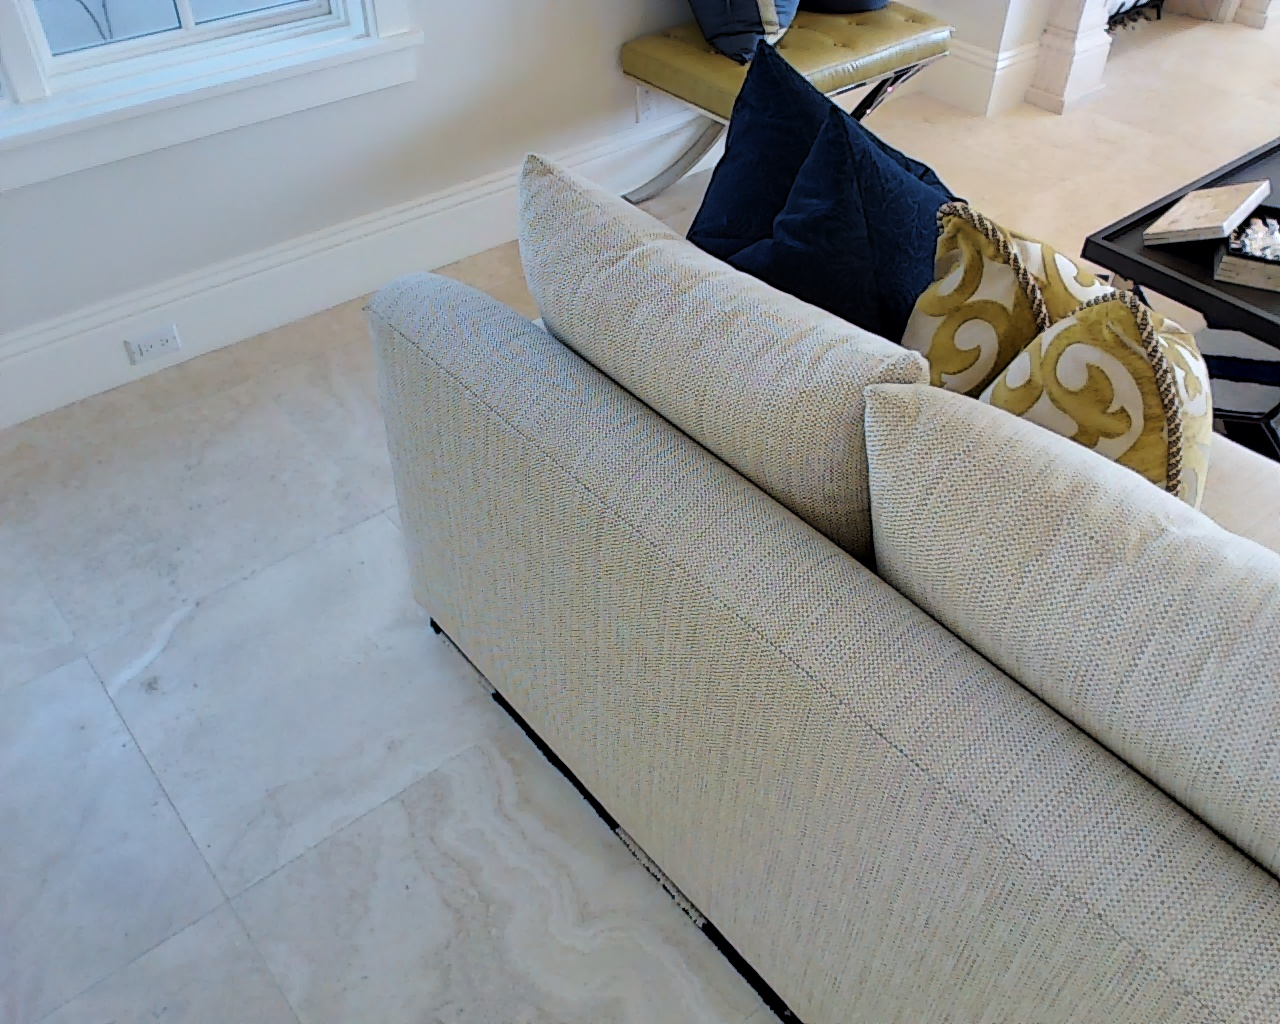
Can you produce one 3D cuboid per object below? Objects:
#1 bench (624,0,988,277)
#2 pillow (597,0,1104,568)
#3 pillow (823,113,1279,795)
[{"bbox_3d":[0.480,-1.190,3.210,0.940,0.530,0.520,-29,50,-29],"label":"bench"},{"bbox_3d":[0.310,-0.390,1.650,0.450,0.660,0.530,-24,29,-3],"label":"pillow"},{"bbox_3d":[0.570,-0.130,1.380,0.390,0.580,0.670,-15,30,-9],"label":"pillow"}]
